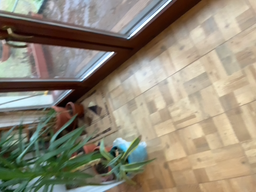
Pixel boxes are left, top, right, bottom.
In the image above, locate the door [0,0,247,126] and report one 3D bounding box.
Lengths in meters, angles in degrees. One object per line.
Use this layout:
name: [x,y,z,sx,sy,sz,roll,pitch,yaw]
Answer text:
door: [-0.660,-0.340,1.200,3.370,2.360,0.220,-29,73,43]
